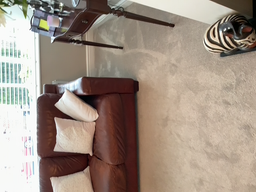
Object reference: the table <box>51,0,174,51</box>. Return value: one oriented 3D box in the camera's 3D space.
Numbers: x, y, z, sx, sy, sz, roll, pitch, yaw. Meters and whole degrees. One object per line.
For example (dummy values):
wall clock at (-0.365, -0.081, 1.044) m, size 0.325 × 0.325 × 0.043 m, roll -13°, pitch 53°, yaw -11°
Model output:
table at (-0.180, -0.760, 1.830) m, size 0.840 × 0.730 × 0.490 m, roll -4°, pitch 88°, yaw 56°
